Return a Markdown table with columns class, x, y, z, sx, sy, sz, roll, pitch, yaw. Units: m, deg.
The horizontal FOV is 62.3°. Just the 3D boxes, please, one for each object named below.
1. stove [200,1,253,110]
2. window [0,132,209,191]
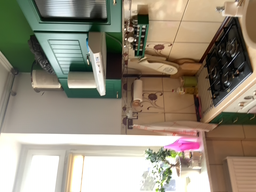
| class | x | y | z | sx | sy | sz | roll | pitch | yaw |
| --- | --- | --- | --- | --- | --- | --- | --- | --- | --- |
| stove | 0.750 | -0.280 | 1.730 | 0.690 | 0.010 | 0.580 | 95 | 176 | -66 |
| window | -0.280 | 1.120 | 2.310 | 0.350 | 2.240 | 1.370 | 94 | 176 | -62 |
